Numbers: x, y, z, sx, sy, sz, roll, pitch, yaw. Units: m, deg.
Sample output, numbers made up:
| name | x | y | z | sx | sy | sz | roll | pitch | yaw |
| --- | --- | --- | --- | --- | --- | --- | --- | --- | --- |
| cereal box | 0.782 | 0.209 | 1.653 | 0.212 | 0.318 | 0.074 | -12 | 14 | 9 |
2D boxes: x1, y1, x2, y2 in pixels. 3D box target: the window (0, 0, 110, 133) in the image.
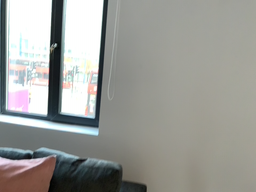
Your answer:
| name | x | y | z | sx | sy | sz | roll | pitch | yaw |
| --- | --- | --- | --- | --- | --- | --- | --- | --- | --- |
| window | -0.760 | -0.450 | 2.040 | 1.090 | 1.470 | 0.180 | 7 | 9 | 9 |
